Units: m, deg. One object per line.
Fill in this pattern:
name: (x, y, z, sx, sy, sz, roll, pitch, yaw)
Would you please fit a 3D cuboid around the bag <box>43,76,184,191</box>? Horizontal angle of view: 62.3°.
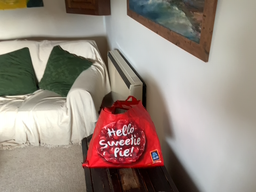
bag: (-0.090, 0.210, 1.190, 0.580, 0.410, 0.520, -6, 30, -9)
